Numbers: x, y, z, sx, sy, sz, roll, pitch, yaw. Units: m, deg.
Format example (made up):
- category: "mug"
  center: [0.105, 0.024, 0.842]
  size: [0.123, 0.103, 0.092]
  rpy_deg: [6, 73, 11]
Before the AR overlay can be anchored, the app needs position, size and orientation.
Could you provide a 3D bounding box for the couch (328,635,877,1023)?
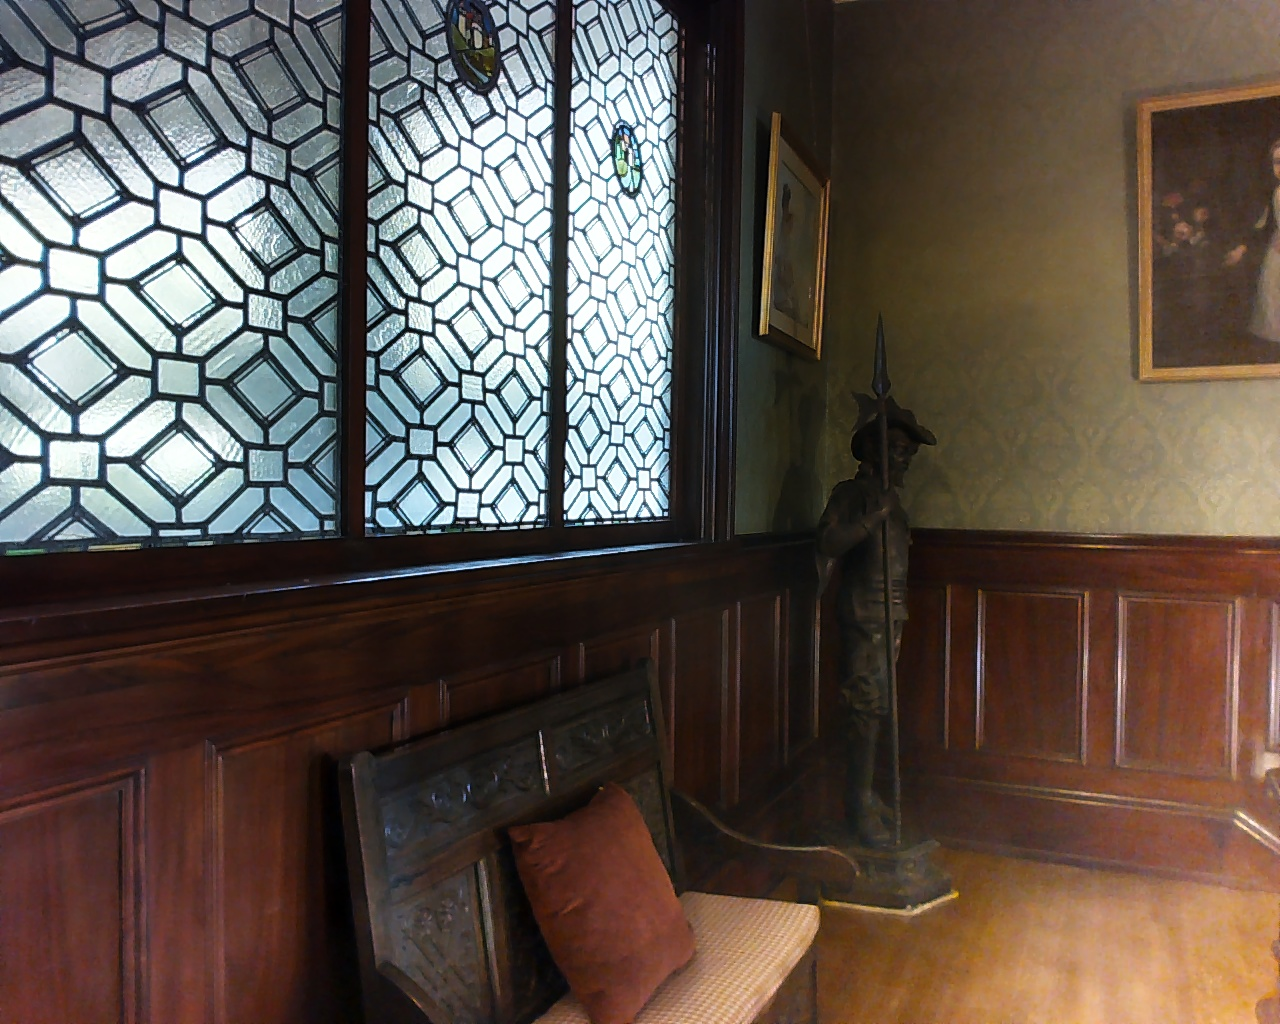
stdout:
- category: "couch"
  center: [0.040, 0.960, 2.360]
  size: [0.670, 1.180, 1.370]
  rpy_deg: [1, 1, 23]
